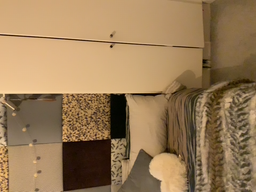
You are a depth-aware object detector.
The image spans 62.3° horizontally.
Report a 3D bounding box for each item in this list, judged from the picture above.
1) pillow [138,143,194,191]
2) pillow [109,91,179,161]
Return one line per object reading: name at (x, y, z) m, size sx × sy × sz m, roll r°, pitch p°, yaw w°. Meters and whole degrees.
pillow at (0.330, 0.660, 1.750) m, size 0.170 × 0.310 × 0.400 m, roll -38°, pitch 5°, yaw 44°
pillow at (0.150, 0.270, 1.990) m, size 0.480 × 0.410 × 0.190 m, roll -47°, pitch 10°, yaw -9°
